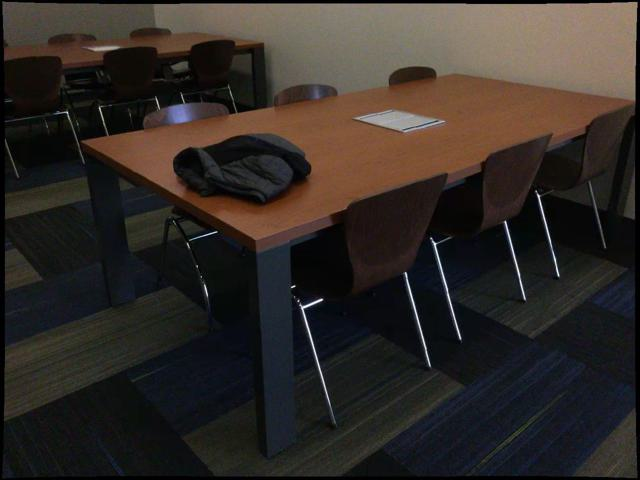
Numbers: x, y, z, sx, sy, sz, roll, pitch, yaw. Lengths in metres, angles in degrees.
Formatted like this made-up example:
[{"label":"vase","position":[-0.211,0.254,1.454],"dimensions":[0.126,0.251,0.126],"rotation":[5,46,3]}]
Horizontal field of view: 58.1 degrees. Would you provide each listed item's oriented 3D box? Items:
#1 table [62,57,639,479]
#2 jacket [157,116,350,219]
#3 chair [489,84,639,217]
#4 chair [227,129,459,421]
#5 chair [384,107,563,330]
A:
[{"label":"table","position":[0.359,-0.241,2.810],"dimensions":[2.537,0.832,1.359],"rotation":[-23,34,-37]},{"label":"jacket","position":[-0.209,-0.261,1.890],"dimensions":[0.499,0.140,0.370],"rotation":[-23,34,-37]},{"label":"chair","position":[1.227,-0.471,2.870],"dimensions":[0.569,0.461,0.450],"rotation":[-23,34,-37]},{"label":"chair","position":[0.070,0.080,2.060],"dimensions":[0.489,0.762,0.589],"rotation":[-23,34,-37]},{"label":"chair","position":[0.628,-0.120,2.450],"dimensions":[0.519,0.732,0.450],"rotation":[-23,34,-37]}]
